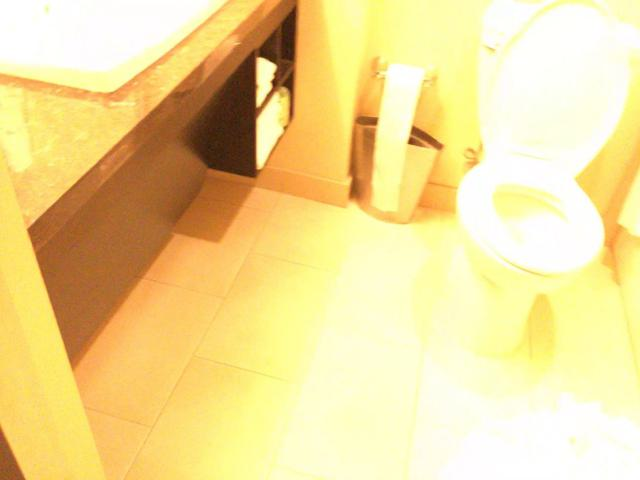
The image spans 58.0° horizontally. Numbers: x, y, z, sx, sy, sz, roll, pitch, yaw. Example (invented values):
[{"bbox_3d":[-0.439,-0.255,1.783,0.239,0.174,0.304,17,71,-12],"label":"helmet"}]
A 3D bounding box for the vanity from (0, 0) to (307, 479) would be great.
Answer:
[{"bbox_3d":[-0.480,-0.290,1.260,0.620,0.670,1.370,11,39,5],"label":"vanity"}]

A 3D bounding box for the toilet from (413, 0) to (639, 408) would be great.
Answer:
[{"bbox_3d":[0.580,-0.170,1.570,0.440,0.860,0.780,11,39,5],"label":"toilet"}]

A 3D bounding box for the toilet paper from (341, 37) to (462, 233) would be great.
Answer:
[{"bbox_3d":[0.260,-0.340,1.960,0.280,0.600,0.150,16,39,11],"label":"toilet paper"}]
